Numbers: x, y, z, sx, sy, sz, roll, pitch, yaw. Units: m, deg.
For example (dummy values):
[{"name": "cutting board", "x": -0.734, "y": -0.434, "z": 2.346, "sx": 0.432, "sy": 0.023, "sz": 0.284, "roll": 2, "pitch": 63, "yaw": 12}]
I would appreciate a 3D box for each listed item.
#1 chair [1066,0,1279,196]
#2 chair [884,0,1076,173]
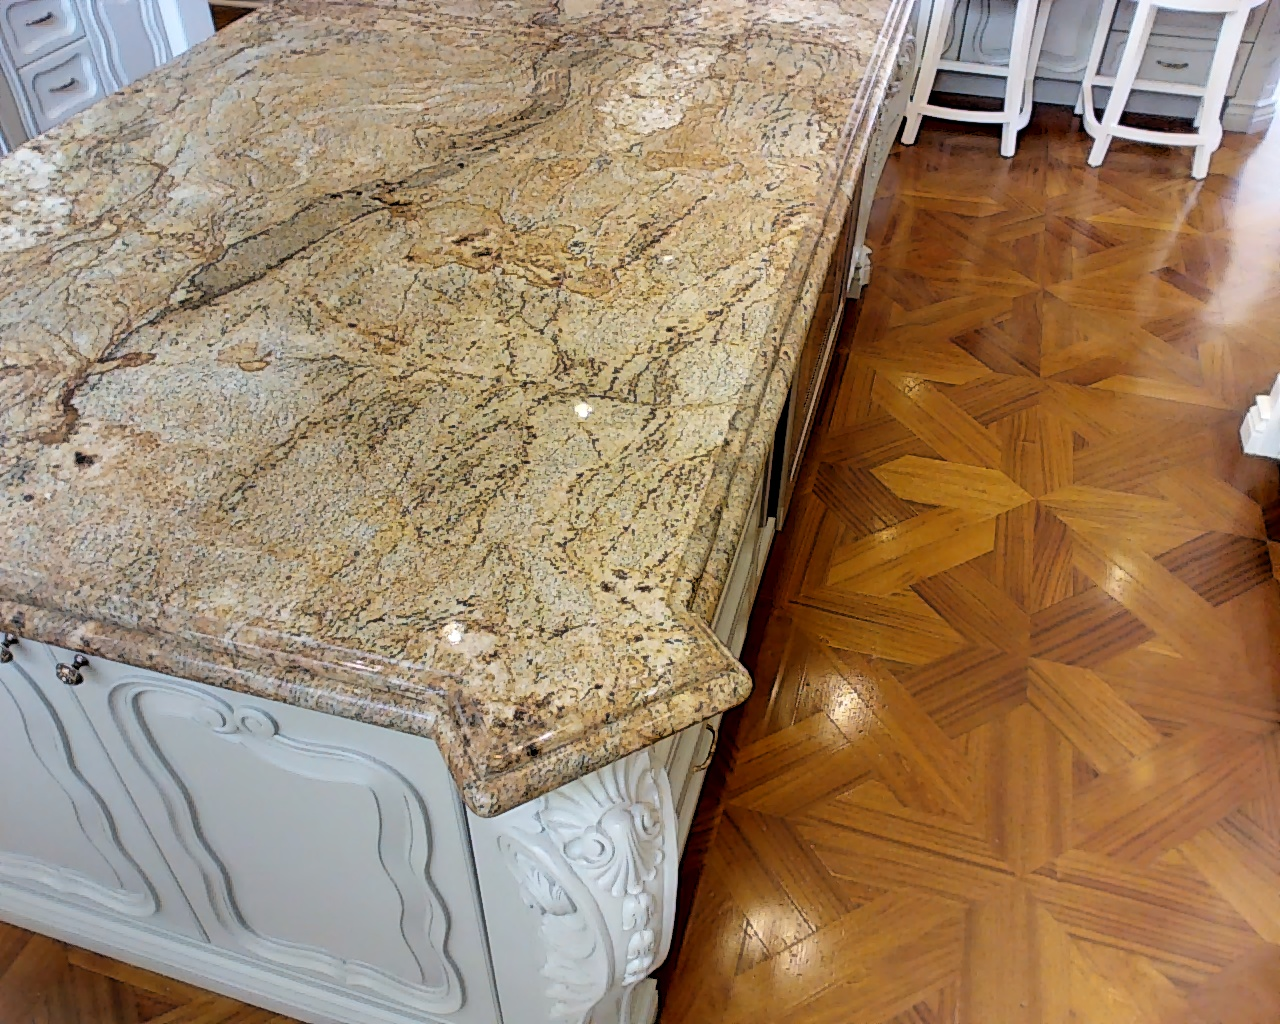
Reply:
[{"name": "chair", "x": 1.920, "y": -1.770, "z": 3.730, "sx": 0.570, "sy": 1.050, "sz": 0.670, "roll": 12, "pitch": 43, "yaw": 13}, {"name": "chair", "x": 1.270, "y": -1.880, "z": 3.860, "sx": 0.540, "sy": 1.050, "sz": 0.620, "roll": 12, "pitch": 43, "yaw": 13}]
